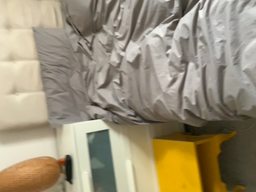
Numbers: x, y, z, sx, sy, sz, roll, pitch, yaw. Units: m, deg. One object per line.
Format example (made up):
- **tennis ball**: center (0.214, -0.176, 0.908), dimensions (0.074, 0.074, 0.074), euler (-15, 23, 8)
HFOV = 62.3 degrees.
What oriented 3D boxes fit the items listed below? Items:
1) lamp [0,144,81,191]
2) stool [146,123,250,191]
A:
- **lamp**: center (-0.590, 0.500, 1.380), dimensions (0.240, 0.470, 0.250), euler (-13, 84, 59)
- **stool**: center (0.450, 0.440, 1.410), dimensions (0.410, 0.430, 0.450), euler (-14, 84, 58)
